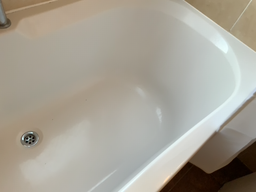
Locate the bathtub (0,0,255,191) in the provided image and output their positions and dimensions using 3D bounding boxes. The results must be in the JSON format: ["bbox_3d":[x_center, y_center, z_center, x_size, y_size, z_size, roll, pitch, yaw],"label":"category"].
[{"bbox_3d":[-0.340,0.190,0.730,1.700,0.550,0.740,-32,68,-31],"label":"bathtub"}]
